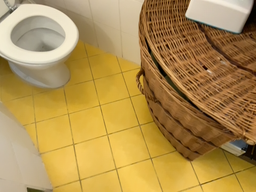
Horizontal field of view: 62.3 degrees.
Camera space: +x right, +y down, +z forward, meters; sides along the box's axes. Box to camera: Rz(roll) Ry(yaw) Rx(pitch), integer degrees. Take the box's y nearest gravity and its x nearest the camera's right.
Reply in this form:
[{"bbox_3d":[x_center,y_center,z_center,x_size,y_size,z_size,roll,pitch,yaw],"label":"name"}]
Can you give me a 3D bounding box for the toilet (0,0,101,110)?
[{"bbox_3d":[-0.590,-0.400,1.110,0.690,0.820,0.400,25,66,13],"label":"toilet"}]
